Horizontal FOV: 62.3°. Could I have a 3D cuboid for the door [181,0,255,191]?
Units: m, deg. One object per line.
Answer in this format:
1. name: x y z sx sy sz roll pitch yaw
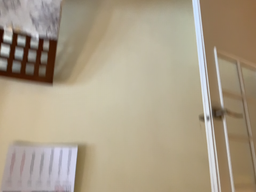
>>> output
1. door: 0.720 0.040 1.270 0.830 2.090 0.120 11 159 -26
